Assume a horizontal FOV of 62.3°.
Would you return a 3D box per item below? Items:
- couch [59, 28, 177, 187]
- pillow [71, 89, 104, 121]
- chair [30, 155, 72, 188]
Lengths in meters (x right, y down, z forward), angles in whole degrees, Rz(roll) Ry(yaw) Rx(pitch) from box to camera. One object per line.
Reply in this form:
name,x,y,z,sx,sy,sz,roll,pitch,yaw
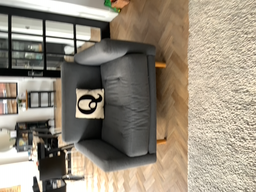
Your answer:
couch,-0.170,0.060,2.010,0.990,0.750,1.050,5,95,61
pillow,-0.390,0.080,2.070,0.150,0.290,0.290,1,90,31
chair,-1.780,1.720,4.910,0.440,0.840,0.480,1,92,61
